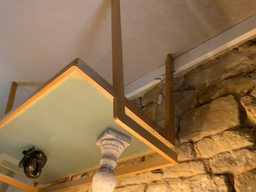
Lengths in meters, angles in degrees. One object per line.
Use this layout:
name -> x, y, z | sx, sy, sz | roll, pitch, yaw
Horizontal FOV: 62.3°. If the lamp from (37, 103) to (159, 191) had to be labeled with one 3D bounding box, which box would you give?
lamp -> -0.140, 0.440, 0.890 | 0.410, 0.680, 0.310 | -24, 129, 32
